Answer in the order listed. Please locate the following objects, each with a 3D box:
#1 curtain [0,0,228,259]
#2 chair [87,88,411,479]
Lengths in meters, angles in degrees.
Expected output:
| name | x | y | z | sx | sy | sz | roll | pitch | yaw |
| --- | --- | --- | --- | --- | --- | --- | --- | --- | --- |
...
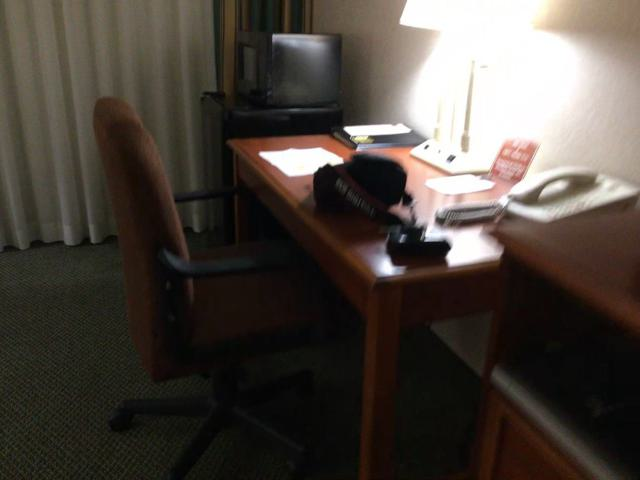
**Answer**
| name | x | y | z | sx | sy | sz | roll | pitch | yaw |
| --- | --- | --- | --- | --- | --- | --- | --- | --- | --- |
| curtain | -1.630 | -0.900 | 2.420 | 2.440 | 2.030 | 0.310 | -5 | 22 | -20 |
| chair | -0.240 | 0.120 | 1.560 | 0.640 | 0.950 | 0.620 | -5 | 22 | -20 |
